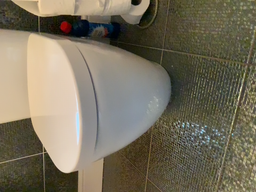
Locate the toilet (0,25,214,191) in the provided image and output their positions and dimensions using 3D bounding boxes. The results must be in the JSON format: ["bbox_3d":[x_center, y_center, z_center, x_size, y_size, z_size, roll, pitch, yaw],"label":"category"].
[{"bbox_3d":[-0.270,-0.010,0.710,0.640,0.810,0.400,26,117,49],"label":"toilet"}]
